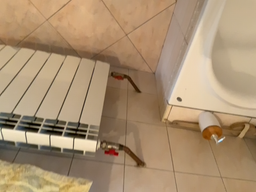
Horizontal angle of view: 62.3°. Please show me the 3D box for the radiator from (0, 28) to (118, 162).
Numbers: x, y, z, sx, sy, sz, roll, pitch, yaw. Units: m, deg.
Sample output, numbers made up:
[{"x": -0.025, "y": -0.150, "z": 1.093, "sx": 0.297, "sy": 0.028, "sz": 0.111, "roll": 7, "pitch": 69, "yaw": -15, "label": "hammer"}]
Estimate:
[{"x": -0.460, "y": -0.080, "z": 1.000, "sx": 0.780, "sy": 0.730, "sz": 0.120, "roll": 8, "pitch": 127, "yaw": -6, "label": "radiator"}]
